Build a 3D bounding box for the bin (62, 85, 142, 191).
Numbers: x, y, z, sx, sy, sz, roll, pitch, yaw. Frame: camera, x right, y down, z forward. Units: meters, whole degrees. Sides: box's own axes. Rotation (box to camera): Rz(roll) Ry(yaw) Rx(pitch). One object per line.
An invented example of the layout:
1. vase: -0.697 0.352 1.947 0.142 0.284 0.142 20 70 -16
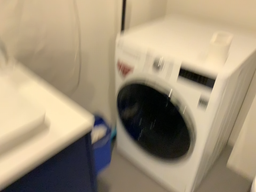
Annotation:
1. bin: -0.150 0.260 1.380 0.300 0.490 0.360 27 43 32
